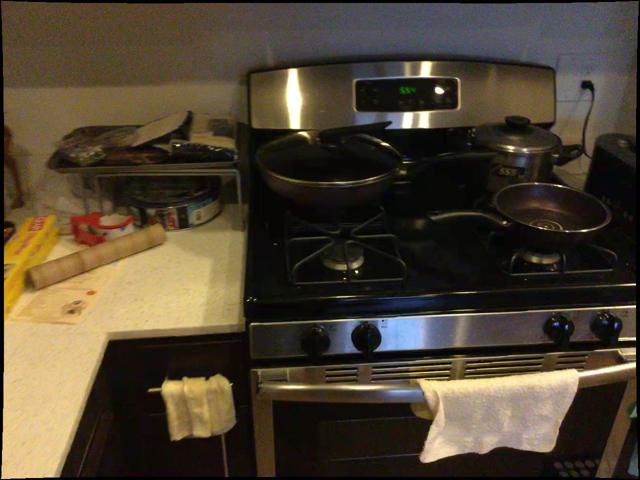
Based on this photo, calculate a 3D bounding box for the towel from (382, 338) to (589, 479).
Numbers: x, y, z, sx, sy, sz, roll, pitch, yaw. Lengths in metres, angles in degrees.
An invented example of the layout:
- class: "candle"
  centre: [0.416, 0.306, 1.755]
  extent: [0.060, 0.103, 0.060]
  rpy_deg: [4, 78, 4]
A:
- class: "towel"
  centre: [0.279, 0.311, 1.030]
  extent: [0.319, 0.210, 0.110]
  rpy_deg: [-6, 30, -5]

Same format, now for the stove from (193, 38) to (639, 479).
- class: "stove"
  centre: [0.229, 0.211, 1.380]
  extent: [0.828, 1.142, 0.760]
  rpy_deg: [-6, 30, -5]

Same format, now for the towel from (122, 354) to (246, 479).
- class: "towel"
  centre: [-0.249, 0.341, 1.100]
  extent: [0.190, 0.230, 0.070]
  rpy_deg: [-6, 30, -5]
